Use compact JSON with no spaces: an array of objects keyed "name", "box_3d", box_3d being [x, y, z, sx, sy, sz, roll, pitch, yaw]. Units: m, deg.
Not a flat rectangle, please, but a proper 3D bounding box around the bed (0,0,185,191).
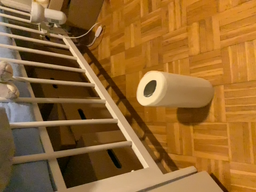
[{"name":"bed","box_3d":[-0.430,0.030,1.000,1.170,0.530,0.600,54,126,35]}]
